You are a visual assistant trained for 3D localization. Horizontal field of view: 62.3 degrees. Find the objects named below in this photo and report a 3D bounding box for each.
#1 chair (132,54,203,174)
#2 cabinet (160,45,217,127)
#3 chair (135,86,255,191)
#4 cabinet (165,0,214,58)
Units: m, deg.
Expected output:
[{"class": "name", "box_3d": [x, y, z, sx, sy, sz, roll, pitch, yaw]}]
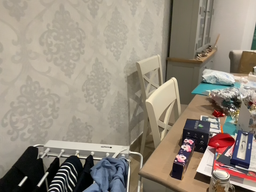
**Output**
[{"class": "chair", "box_3d": [0.350, 0.140, 1.970, 0.480, 0.950, 0.400, 11, 23, 27]}, {"class": "cabinet", "box_3d": [0.880, -0.210, 3.000, 0.470, 0.850, 1.010, 11, 23, 26]}, {"class": "chair", "box_3d": [0.320, 0.480, 1.070, 0.480, 0.950, 0.390, 6, 22, 17]}, {"class": "cabinet", "box_3d": [0.820, -1.080, 2.680, 0.350, 1.010, 0.960, 11, 23, 26]}]
